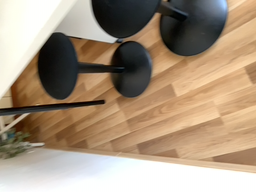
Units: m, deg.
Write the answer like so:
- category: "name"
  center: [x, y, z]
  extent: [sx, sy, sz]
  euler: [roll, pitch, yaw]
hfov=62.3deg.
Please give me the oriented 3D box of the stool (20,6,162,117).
- category: "stool"
  center: [-0.200, -0.170, 1.290]
  extent: [0.400, 0.660, 0.400]
  euler: [-28, 76, 39]

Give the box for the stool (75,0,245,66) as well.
- category: "stool"
  center: [0.160, -0.420, 0.970]
  extent: [0.410, 0.650, 0.400]
  euler: [-27, 76, 40]
